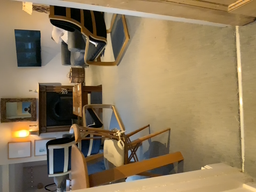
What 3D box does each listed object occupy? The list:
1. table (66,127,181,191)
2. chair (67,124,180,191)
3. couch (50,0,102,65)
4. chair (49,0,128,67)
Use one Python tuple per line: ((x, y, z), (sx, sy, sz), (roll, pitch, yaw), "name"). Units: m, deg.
((-0.120, 1.350, 1.900), (0.990, 0.740, 1.990), (175, 94, -68), "table")
((-0.060, 0.500, 1.690), (0.440, 0.780, 0.500), (166, 103, -68), "chair")
((-1.180, -1.290, 4.430), (1.890, 0.810, 0.940), (175, 94, -68), "couch")
((-0.610, -0.970, 2.920), (0.890, 0.880, 0.710), (126, 139, -56), "chair")
